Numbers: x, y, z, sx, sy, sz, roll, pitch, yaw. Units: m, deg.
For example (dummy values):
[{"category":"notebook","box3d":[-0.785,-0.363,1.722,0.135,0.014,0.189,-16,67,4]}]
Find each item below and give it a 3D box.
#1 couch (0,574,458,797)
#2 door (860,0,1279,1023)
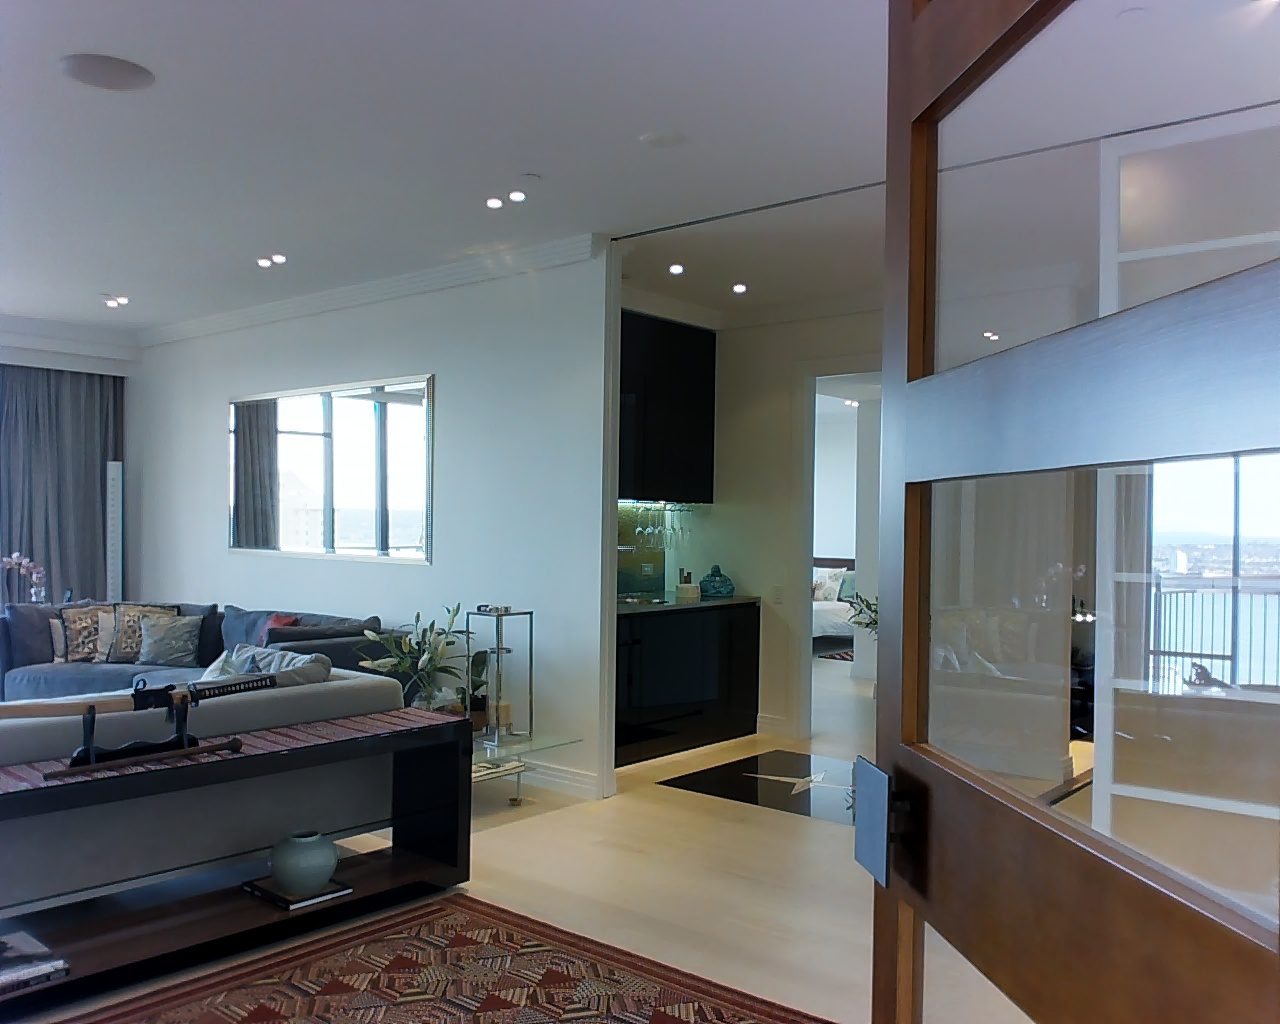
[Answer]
[{"category":"couch","box3d":[-2.709,0.890,6.550,3.190,0.820,1.440,1,0,41]},{"category":"door","box3d":[0.400,0.100,0.970,0.120,2.521,0.870,1,0,-6]}]
